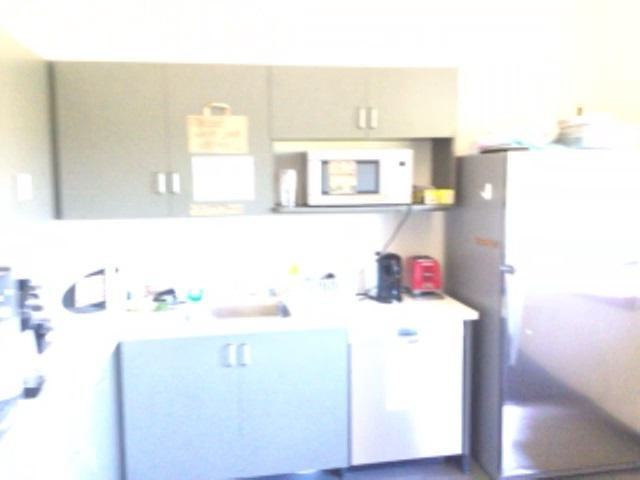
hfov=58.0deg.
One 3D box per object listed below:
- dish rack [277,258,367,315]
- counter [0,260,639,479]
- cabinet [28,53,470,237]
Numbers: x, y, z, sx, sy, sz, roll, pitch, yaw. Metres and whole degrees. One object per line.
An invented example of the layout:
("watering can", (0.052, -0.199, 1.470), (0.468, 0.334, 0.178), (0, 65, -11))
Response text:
("dish rack", (0.000, 0.240, 3.100), (0.400, 0.220, 0.370), (-4, 5, -12))
("counter", (-0.330, 0.390, 2.350), (2.360, 0.250, 1.810), (-4, 5, -12))
("cabinet", (-0.290, -0.490, 2.930), (2.020, 0.790, 0.460), (-4, 5, -12))
